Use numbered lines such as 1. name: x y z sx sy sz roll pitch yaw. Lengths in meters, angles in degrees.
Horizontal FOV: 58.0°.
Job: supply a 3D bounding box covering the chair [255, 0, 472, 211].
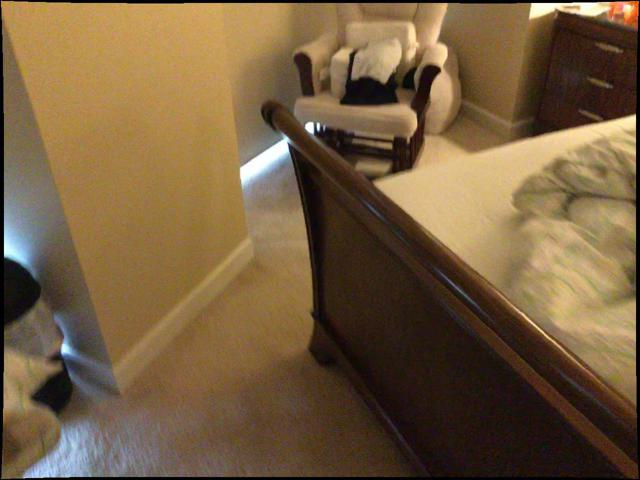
1. chair: 0.269 -0.852 2.840 0.778 0.941 0.971 10 38 16
